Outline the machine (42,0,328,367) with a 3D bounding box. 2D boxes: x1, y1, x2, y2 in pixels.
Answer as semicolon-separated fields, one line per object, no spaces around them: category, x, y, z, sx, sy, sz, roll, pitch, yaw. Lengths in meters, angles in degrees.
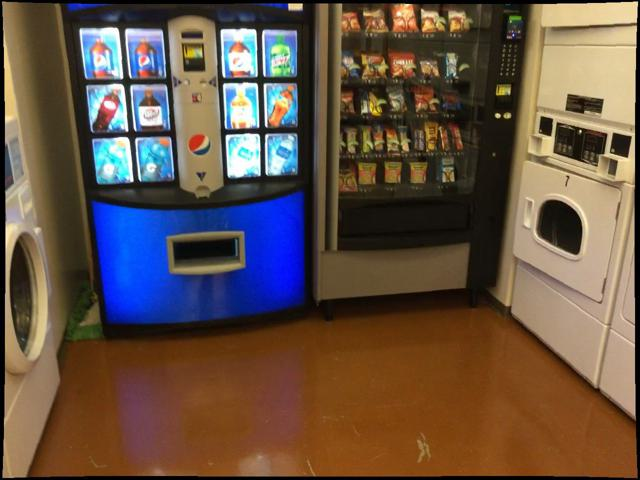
machine;-0.609;-0.591;2.740;1.049;1.992;0.920;-6;20;-17
